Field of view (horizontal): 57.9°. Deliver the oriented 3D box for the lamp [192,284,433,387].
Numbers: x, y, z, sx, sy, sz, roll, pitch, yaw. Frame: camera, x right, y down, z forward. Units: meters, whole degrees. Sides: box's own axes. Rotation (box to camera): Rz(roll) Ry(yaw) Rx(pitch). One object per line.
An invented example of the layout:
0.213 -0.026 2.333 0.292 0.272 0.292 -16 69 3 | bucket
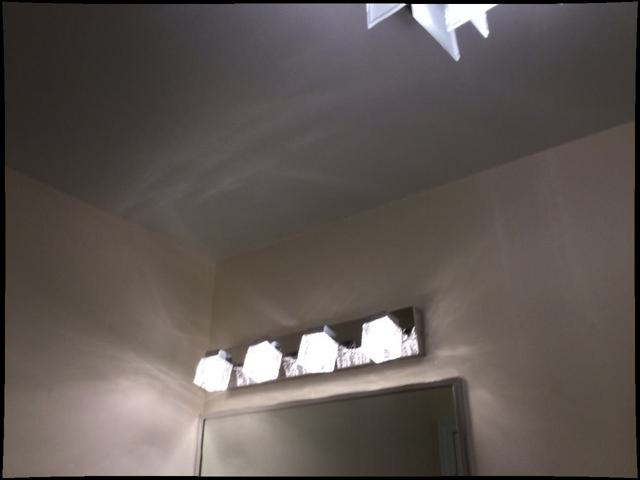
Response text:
-0.050 0.260 1.470 0.680 0.150 0.090 -16 -27 32 | lamp
